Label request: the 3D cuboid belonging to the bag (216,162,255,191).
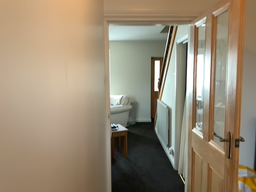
[{"bbox_3d":[1.020,0.830,1.910,0.350,0.360,0.250,2,7,8],"label":"bag"}]
